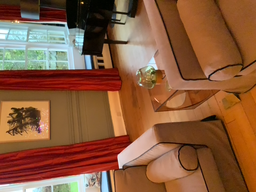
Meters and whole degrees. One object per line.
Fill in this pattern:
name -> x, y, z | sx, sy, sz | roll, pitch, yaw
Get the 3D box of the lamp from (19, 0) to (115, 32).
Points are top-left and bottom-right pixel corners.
lamp -> -1.190, -1.730, 4.260 | 0.470, 1.750, 0.550 | 166, 102, -68
